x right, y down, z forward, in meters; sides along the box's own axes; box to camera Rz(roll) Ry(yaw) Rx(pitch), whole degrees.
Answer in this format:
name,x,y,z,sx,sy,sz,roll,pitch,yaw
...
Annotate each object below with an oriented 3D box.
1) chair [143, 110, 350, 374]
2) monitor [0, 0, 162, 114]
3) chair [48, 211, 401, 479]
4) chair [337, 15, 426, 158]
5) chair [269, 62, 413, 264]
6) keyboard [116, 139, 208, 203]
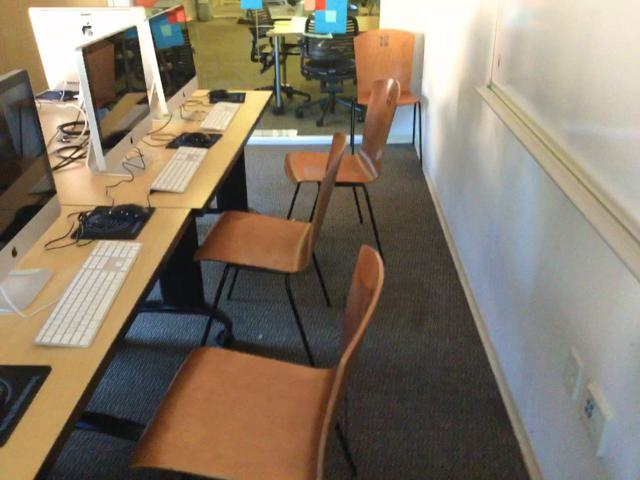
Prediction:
name,x,y,z,sx,sy,sz,roll,pitch,yaw
chair,-0.200,0.000,2.080,0.600,0.800,0.500,1,30,2
monitor,-1.020,-0.800,2.530,0.540,0.440,0.210,1,30,2
chair,-0.140,0.410,1.330,0.560,0.810,0.500,1,30,2
chair,0.390,-1.060,3.980,0.540,0.840,0.550,0,30,2
chair,0.070,-0.380,2.760,0.580,0.780,0.570,-3,30,-4
keyboard,-0.510,-0.240,1.930,0.180,0.030,0.470,0,30,2
